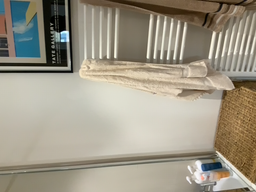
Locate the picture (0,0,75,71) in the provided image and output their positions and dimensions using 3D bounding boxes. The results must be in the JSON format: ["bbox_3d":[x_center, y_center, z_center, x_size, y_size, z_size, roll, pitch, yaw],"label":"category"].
[{"bbox_3d":[-0.600,-0.350,1.080,0.040,0.630,0.430,-122,34,-68],"label":"picture"}]
